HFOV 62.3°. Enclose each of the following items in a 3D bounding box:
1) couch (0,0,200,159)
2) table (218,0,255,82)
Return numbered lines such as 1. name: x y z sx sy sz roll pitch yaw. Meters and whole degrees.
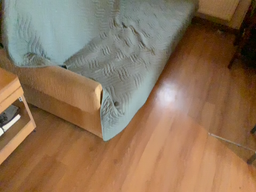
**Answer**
1. couch: 0.010 -0.730 1.860 0.890 0.940 2.100 23 49 13
2. table: 1.330 -0.640 2.160 0.450 0.690 0.640 23 49 13
